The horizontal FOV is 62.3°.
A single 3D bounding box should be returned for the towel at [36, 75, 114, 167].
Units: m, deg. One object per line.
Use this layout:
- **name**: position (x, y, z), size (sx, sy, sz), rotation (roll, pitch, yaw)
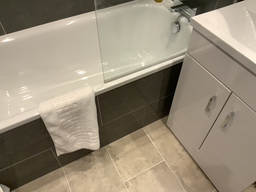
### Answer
- **towel**: position (-0.250, 0.160, 1.150), size (0.300, 0.510, 0.140), rotation (-21, 54, -18)
